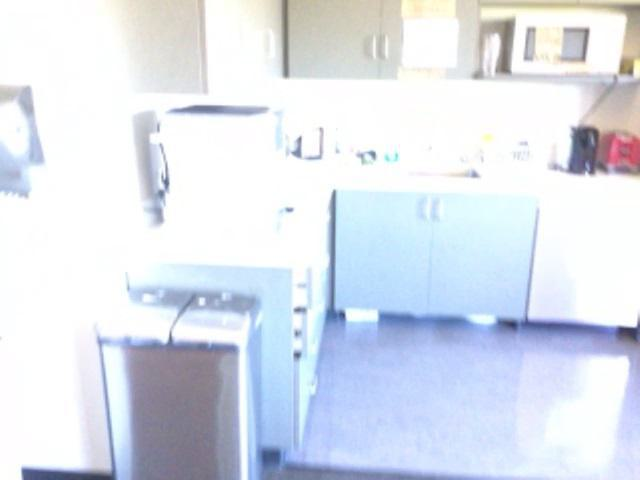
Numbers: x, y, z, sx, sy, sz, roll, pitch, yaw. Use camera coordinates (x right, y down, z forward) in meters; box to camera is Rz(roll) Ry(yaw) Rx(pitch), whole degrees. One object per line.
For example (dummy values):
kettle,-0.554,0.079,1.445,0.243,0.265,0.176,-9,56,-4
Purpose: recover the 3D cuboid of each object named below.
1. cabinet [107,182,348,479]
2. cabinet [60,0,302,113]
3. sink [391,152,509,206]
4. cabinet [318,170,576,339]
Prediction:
cabinet,-0.270,0.290,2.590,0.640,0.840,1.320,-1,16,8
cabinet,-0.430,-0.980,2.330,0.420,0.780,1.570,-1,16,8
sink,0.700,-0.350,3.240,0.590,0.180,0.560,-1,16,8
cabinet,0.680,0.060,3.310,1.260,0.770,0.680,-1,16,8
